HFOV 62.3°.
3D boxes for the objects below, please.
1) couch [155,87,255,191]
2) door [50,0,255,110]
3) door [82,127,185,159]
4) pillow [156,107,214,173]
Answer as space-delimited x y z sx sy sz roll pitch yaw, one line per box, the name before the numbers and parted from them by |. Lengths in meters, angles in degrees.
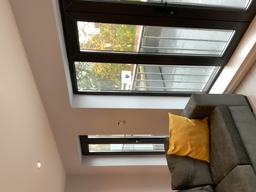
couch | 0.920 0.920 2.280 1.090 0.830 1.700 100 169 -51
door | 0.420 -0.850 2.010 2.850 2.200 0.190 99 170 -48
door | 0.060 0.930 4.080 1.020 1.800 0.090 99 170 -47
pillow | 0.700 0.520 2.570 0.580 0.500 0.190 64 167 -16
